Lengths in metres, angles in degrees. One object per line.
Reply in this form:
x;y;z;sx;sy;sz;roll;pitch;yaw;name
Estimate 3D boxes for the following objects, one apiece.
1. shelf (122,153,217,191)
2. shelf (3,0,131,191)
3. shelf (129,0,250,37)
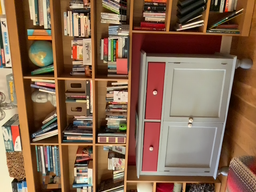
0.440;0.980;2.460;0.310;0.990;0.520;-97;9;-71;shelf
-0.520;0.080;2.110;0.330;1.000;2.350;-97;9;-71;shelf
0.520;-0.810;1.890;0.270;0.990;0.490;-97;9;-71;shelf
